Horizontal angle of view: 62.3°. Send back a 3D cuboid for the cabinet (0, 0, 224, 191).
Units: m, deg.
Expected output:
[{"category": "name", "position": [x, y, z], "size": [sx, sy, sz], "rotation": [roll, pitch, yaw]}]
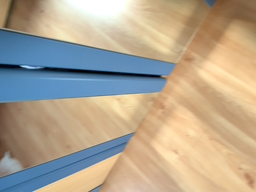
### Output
[{"category": "cabinet", "position": [-0.780, 0.150, 0.550], "size": [0.650, 2.230, 1.990], "rotation": [38, 113, 26]}]
